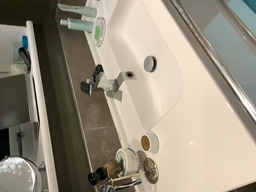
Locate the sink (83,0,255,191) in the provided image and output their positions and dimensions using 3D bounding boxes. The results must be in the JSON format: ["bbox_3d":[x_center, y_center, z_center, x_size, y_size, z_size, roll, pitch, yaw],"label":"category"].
[{"bbox_3d":[0.090,-0.140,0.800,0.450,0.190,1.020,-53,48,46],"label":"sink"}]
